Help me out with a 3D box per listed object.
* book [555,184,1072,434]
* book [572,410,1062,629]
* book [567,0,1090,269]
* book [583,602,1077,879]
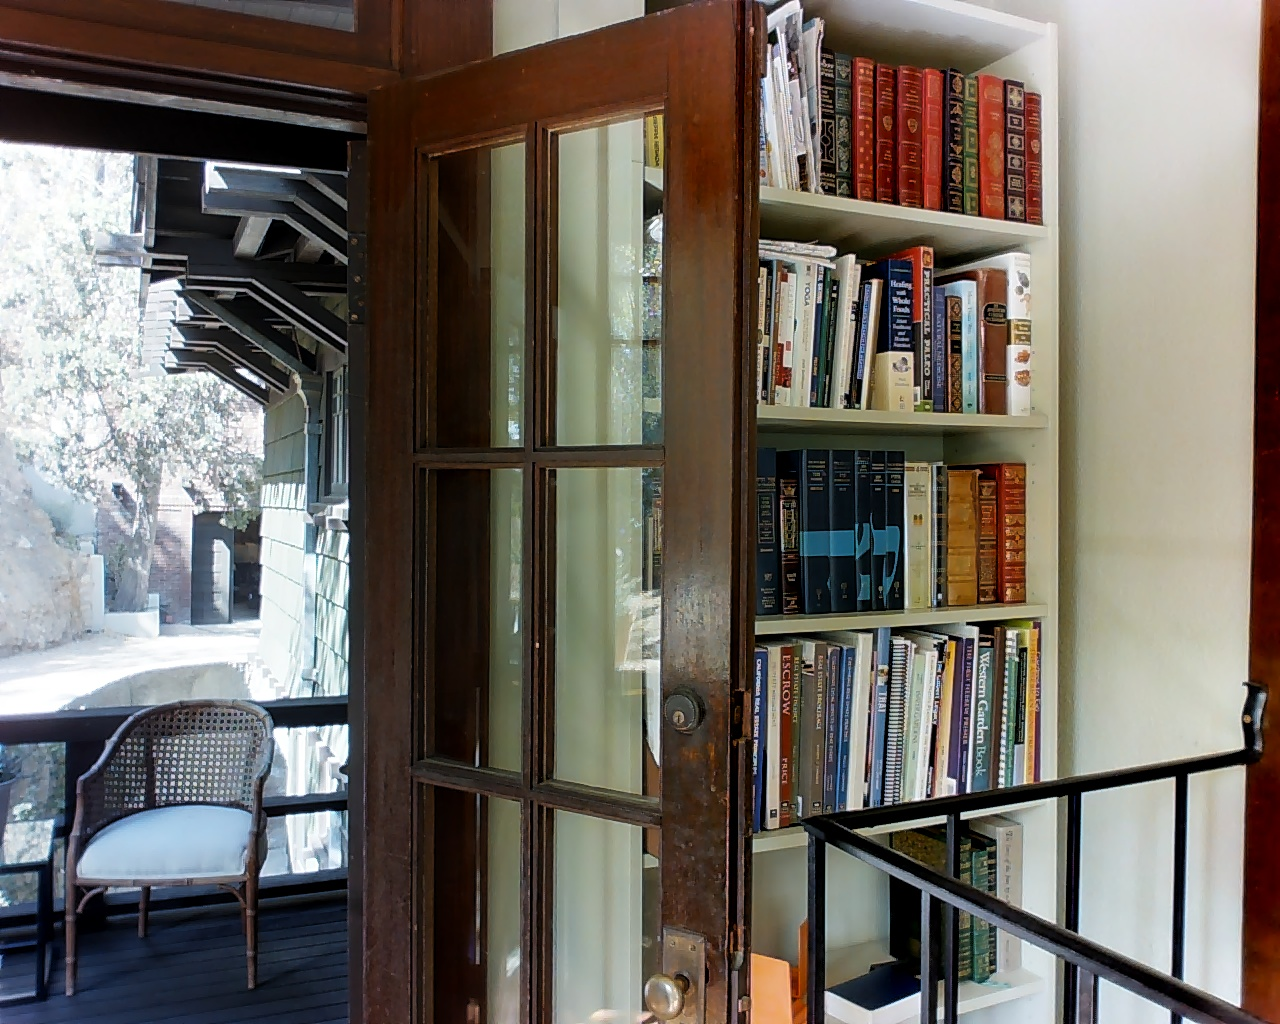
[{"bbox_3d":[0.300,-0.300,1.800,0.810,0.290,0.340,0,1,-28],"label":"book"},{"bbox_3d":[0.310,0.010,1.800,0.790,0.300,0.300,0,1,-29],"label":"book"},{"bbox_3d":[0.330,-0.620,1.790,0.860,0.290,0.270,0,1,-26],"label":"book"},{"bbox_3d":[0.320,0.340,1.790,0.760,0.330,0.320,0,0,-25],"label":"book"}]
